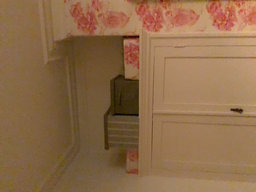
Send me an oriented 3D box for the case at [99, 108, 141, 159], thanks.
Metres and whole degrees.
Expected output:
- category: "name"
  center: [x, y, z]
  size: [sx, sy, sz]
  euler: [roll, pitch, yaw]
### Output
- category: "case"
  center: [-0.060, 0.340, 2.010]
  size: [0.300, 0.350, 0.380]
  euler: [-60, -30, -75]
